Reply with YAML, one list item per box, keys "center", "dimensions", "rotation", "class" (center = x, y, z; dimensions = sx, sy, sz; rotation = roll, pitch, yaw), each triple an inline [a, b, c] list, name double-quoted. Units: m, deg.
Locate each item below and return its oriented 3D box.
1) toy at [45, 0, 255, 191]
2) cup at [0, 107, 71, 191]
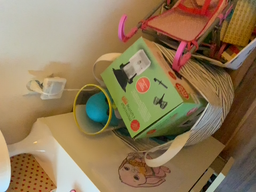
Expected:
- center: [0.150, -0.040, 0.850]
  dimensions: [0.460, 0.690, 0.390]
  rotation: [40, 117, 26]
  class: "toy"
- center: [-0.340, 0.180, 0.530]
  dimensions: [0.220, 0.270, 0.170]
  rotation: [38, 115, 25]
  class: "cup"
